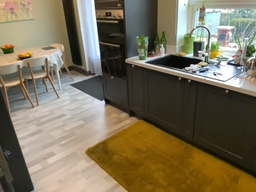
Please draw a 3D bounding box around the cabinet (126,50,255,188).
[{"bbox_3d":[0.840,0.110,2.400,0.580,0.880,1.900,-22,32,-36],"label":"cabinet"}]

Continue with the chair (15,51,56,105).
[{"bbox_3d":[-1.610,-0.330,3.730,0.430,0.800,0.420,-18,29,-30],"label":"chair"}]
